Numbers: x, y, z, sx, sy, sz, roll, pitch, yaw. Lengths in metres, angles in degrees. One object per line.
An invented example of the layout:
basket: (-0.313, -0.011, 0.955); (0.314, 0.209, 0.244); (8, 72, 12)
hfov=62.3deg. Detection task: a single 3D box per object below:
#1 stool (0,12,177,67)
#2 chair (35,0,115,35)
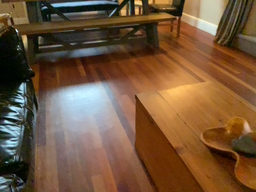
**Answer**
stool: (-0.460, -0.860, 3.060); (2.320, 0.450, 0.400); (-10, 34, -15)
chair: (-1.000, -1.770, 4.050); (1.400, 0.910, 0.530); (-10, 34, -16)
